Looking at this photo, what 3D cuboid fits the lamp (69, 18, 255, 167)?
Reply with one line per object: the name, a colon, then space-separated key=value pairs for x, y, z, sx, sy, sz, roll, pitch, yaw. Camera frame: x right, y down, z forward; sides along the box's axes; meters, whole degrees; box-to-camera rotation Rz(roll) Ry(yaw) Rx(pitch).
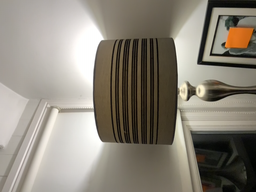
lamp: x=0.210 y=0.000 z=0.720 sx=0.370 sy=0.660 sz=0.330 roll=84 pitch=-173 yaw=-46
